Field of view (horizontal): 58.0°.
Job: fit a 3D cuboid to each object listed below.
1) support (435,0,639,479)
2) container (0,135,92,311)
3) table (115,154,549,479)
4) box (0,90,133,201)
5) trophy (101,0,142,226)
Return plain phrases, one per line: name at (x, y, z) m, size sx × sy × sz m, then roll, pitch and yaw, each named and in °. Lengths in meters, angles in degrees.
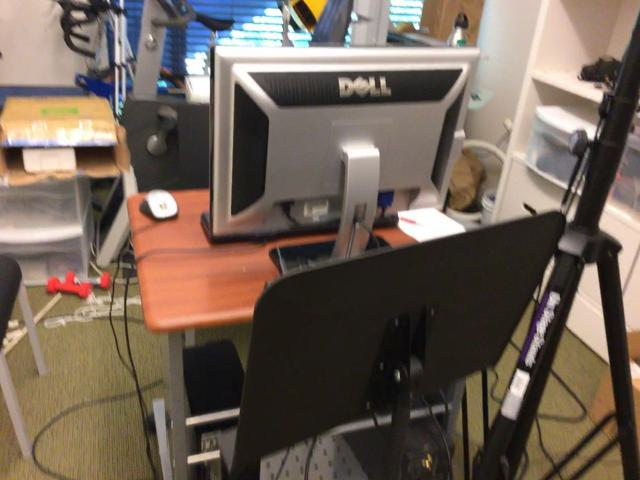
support at (0.480, -0.140, 1.000) m, size 0.270 × 2.010 × 0.190 m, roll -4°, pitch 25°, yaw -18°
container at (-1.160, -0.090, 2.290) m, size 0.410 × 0.520 × 0.540 m, roll -4°, pitch 25°, yaw -18°
table at (-0.070, 0.280, 1.470) m, size 0.790 × 0.800 × 0.730 m, roll -4°, pitch 25°, yaw -18°
box at (-1.010, -0.390, 2.260) m, size 0.500 × 0.290 × 0.540 m, roll -4°, pitch 25°, yaw -18°
trophy at (-1.000, -0.800, 2.900) m, size 0.110 × 1.430 × 0.360 m, roll -4°, pitch 25°, yaw -18°
